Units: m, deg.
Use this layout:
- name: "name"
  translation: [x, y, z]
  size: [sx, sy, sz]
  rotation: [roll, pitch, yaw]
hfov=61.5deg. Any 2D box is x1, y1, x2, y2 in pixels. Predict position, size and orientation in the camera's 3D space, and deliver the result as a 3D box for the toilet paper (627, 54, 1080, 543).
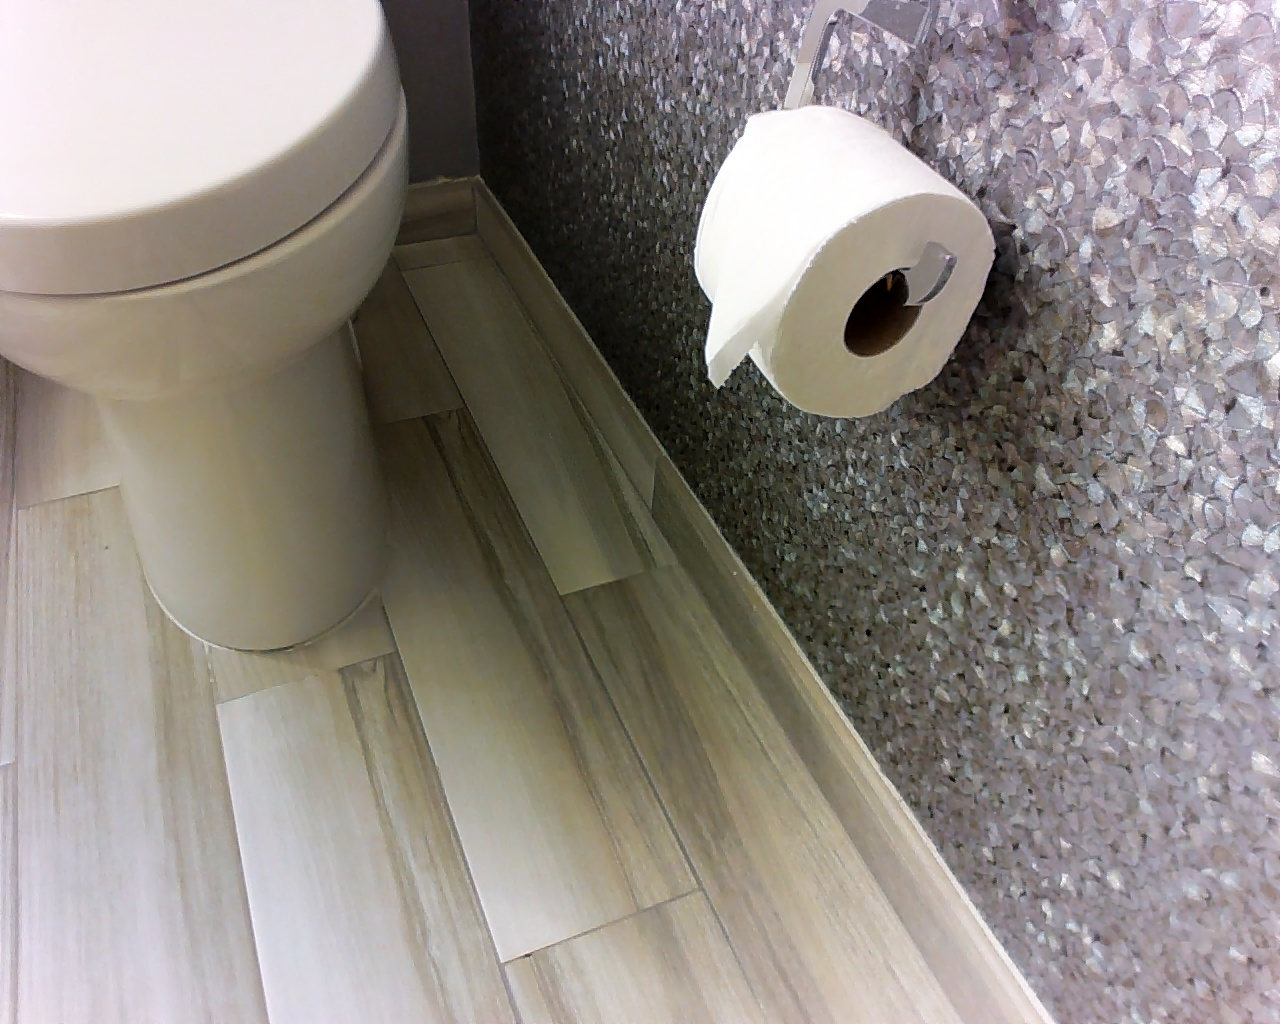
- name: "toilet paper"
  translation: [0.090, -0.110, 0.540]
  size: [0.150, 0.170, 0.140]
  rotation: [-15, 45, -17]
